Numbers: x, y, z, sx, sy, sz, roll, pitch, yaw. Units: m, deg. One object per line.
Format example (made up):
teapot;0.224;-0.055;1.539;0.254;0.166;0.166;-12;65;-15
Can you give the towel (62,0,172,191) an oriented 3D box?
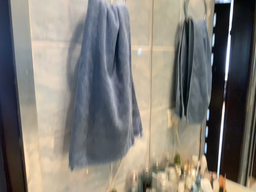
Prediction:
towel;-0.020;-0.020;0.640;0.300;0.510;0.110;-8;14;-38

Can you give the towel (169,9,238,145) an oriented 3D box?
towel;0.360;-0.090;1.010;0.310;0.550;0.140;-9;15;-41
